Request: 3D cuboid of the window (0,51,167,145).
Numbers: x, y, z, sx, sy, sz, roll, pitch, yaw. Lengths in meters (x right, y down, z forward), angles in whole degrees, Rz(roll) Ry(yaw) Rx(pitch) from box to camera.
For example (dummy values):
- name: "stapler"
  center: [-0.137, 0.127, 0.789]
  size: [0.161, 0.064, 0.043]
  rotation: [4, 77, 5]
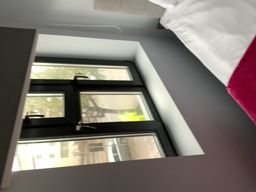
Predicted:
- name: "window"
  center: [-0.370, -0.060, 1.840]
  size: [1.060, 1.130, 0.070]
  rotation: [-109, 26, -47]
